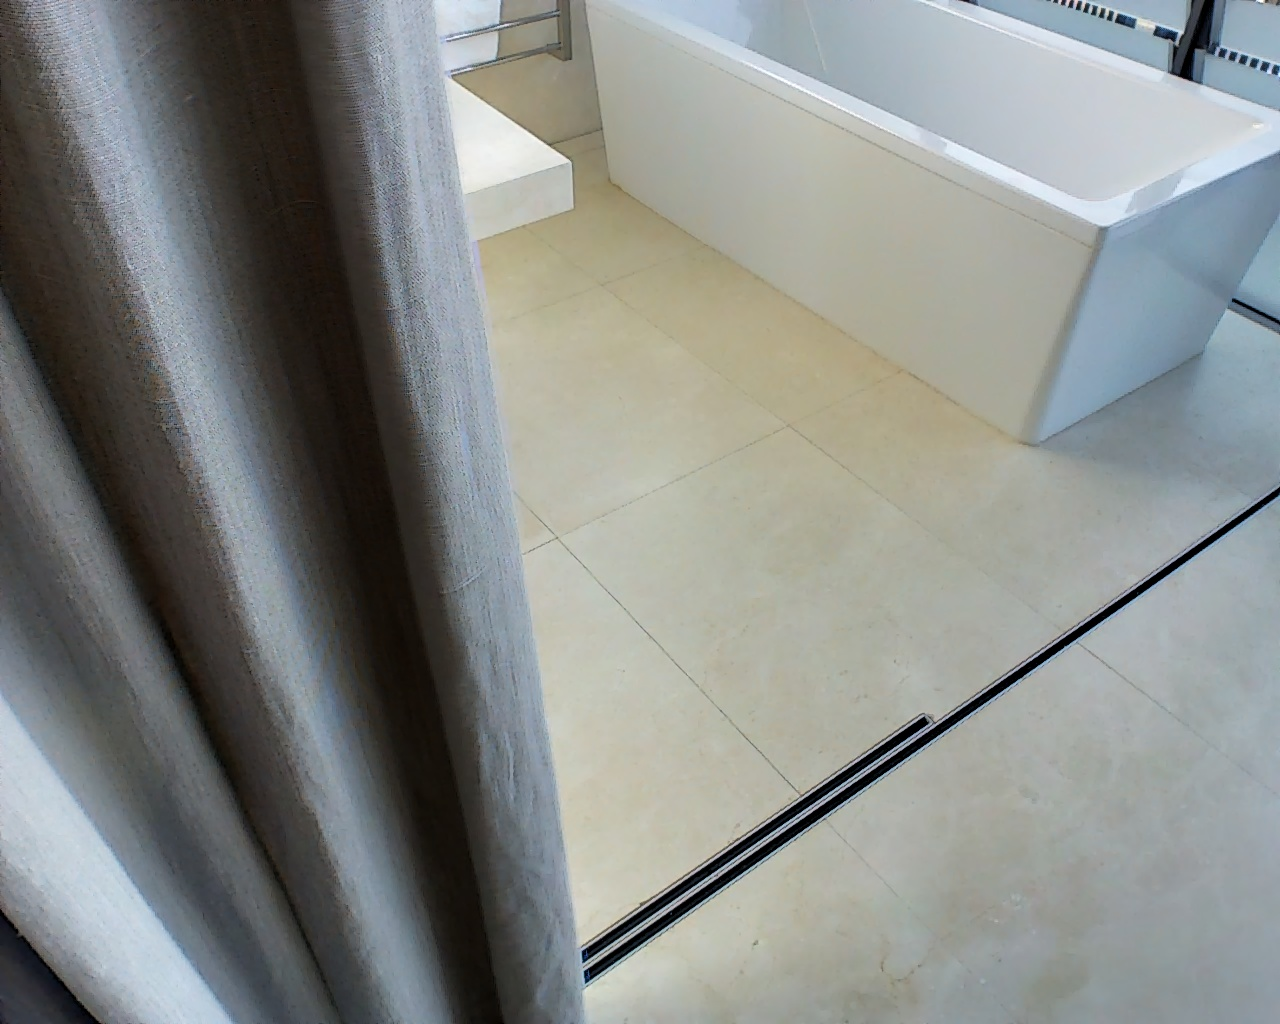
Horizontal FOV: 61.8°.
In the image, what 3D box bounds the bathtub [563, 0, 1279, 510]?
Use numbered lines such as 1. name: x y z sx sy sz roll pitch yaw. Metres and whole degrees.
1. bathtub: 0.700 -0.950 2.950 0.910 0.660 1.890 -26 49 -25
